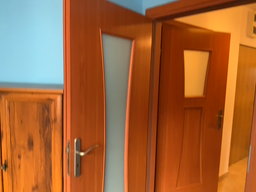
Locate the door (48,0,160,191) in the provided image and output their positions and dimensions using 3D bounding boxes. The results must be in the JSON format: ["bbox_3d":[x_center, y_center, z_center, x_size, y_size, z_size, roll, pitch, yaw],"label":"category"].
[{"bbox_3d":[-0.100,0.390,1.550,0.090,2.010,1.020,7,9,35],"label":"door"}]
